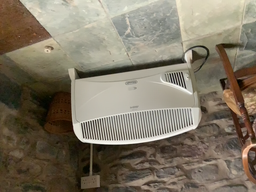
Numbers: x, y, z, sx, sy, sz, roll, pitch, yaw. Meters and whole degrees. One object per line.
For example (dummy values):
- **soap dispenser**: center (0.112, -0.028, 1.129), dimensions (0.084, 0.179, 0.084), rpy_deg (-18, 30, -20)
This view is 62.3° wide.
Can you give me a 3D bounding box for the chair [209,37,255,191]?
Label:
- **chair**: center (0.870, 0.120, 1.230), dimensions (0.560, 0.780, 0.550), rpy_deg (-13, 151, 14)
